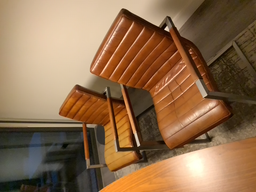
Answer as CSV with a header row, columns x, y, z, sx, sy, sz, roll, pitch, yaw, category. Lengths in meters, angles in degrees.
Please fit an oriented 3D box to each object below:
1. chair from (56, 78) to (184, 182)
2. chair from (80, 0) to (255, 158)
x,y,z,sx,sy,sz,roll,pitch,yaw,category
-0.100,0.310,1.850,0.540,0.860,0.630,-43,50,45,chair
0.270,-0.050,1.300,0.580,0.890,0.620,-45,49,44,chair
